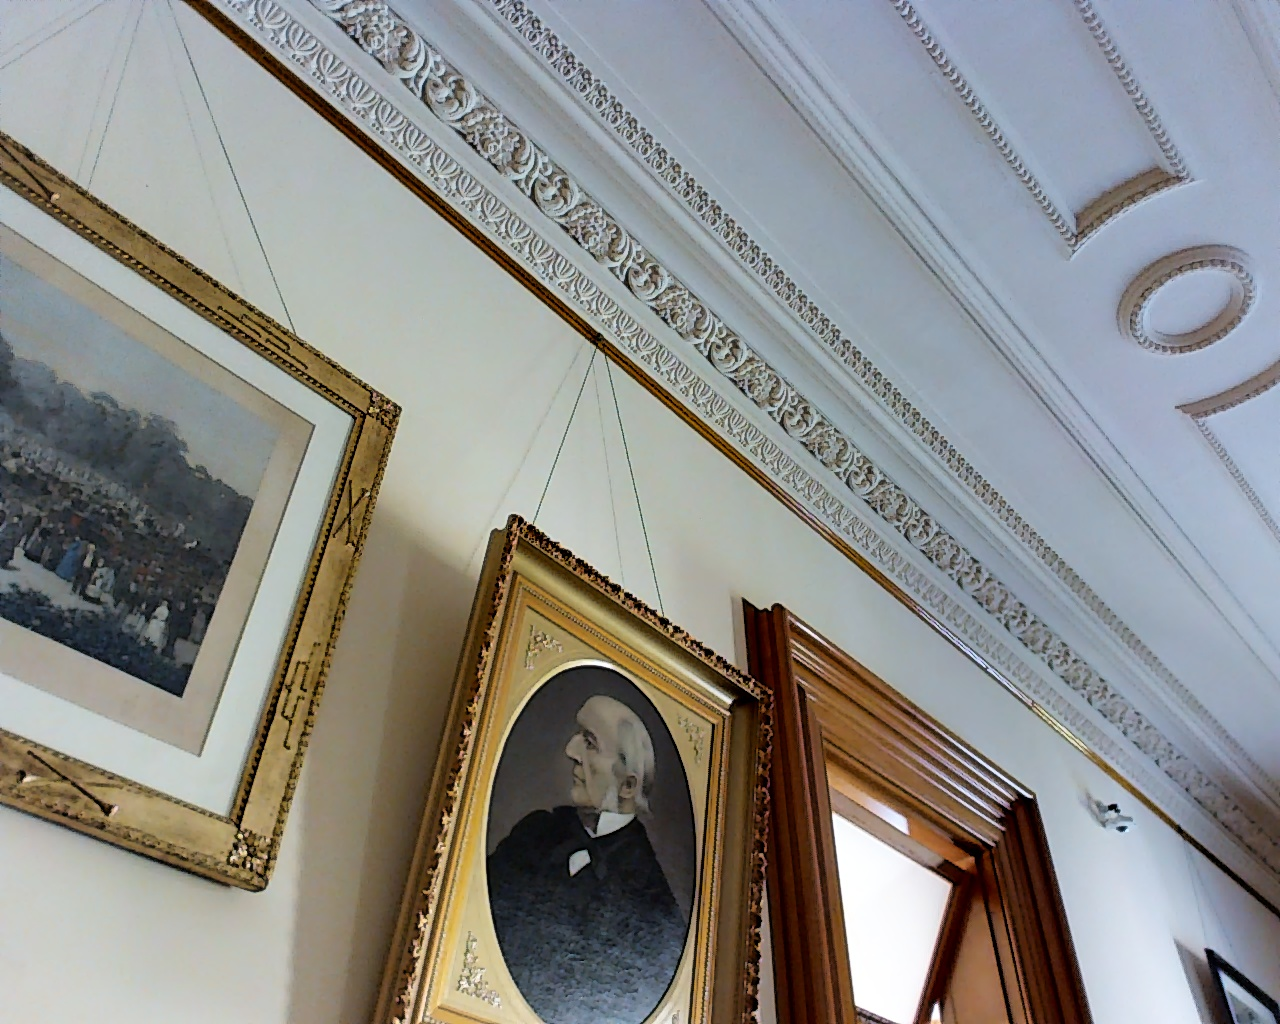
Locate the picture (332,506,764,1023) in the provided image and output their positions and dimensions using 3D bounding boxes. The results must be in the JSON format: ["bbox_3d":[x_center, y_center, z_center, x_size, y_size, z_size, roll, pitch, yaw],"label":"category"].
[{"bbox_3d":[-0.070,0.580,1.950,0.140,1.000,0.760,-31,-58,30],"label":"picture"}]
